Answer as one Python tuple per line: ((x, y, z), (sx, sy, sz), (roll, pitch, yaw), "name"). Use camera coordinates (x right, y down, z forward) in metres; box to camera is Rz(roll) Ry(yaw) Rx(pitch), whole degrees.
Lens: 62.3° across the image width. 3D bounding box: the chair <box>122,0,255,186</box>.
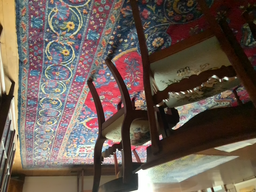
((0.350, -0.100, 1.040), (0.480, 0.880, 0.530), (-21, 146, 19), "chair")
